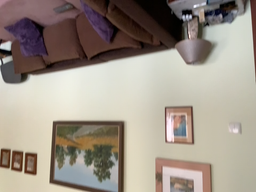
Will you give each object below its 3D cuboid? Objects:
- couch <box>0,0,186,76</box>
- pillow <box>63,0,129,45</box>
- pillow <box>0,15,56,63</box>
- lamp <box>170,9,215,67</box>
[{"bbox_3d":[-0.680,-0.770,2.070,2.210,0.760,0.920,-4,172,33],"label":"couch"},{"bbox_3d":[-0.240,-0.670,1.680,0.340,0.360,0.390,-4,172,34],"label":"pillow"},{"bbox_3d":[-1.110,-0.620,2.350,0.420,0.410,0.230,-3,142,34],"label":"pillow"},{"bbox_3d":[0.500,-0.430,1.650,0.280,0.340,0.200,-4,172,33],"label":"lamp"}]
